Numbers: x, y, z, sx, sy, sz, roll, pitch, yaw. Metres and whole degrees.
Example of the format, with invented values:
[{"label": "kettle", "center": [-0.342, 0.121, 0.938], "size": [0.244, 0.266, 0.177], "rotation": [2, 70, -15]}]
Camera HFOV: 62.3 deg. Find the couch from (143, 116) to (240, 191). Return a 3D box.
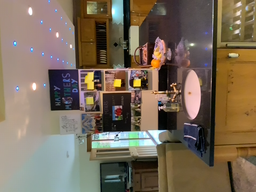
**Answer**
[{"label": "couch", "center": [0.820, 1.670, 2.870], "size": [1.120, 0.900, 2.620], "rotation": [113, 155, -75]}]
